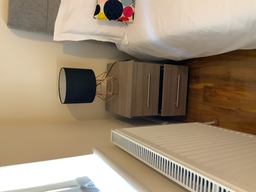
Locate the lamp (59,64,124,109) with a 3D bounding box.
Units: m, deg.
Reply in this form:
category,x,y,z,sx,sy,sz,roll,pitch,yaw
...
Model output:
category,x,y,z,sx,sy,sz,roll,pitch,yaw
lamp,-0.270,-0.070,1.540,0.250,0.390,0.280,12,100,60
